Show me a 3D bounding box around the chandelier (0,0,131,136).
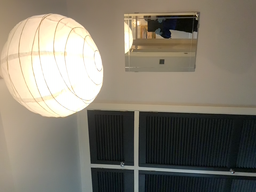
[{"bbox_3d":[-0.320,-0.140,0.970,0.500,0.440,0.420,8,11,37],"label":"chandelier"}]
